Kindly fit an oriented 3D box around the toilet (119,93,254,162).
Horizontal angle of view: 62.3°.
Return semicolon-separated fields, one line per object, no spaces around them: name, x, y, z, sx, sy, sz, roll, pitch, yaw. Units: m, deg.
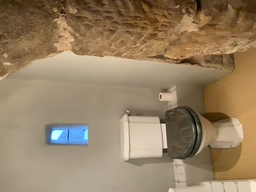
toilet;0.380;0.290;1.700;0.700;0.760;0.410;136;135;-68
